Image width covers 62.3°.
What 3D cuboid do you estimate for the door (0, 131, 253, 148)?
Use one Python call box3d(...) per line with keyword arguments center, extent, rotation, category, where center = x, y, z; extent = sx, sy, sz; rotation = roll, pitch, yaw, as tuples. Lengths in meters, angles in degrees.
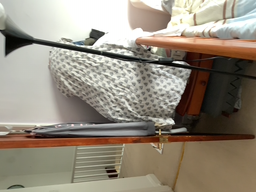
box3d(center=(-0.080, 0.300, 1.590), extent=(0.790, 1.920, 0.040), rotation=(164, 108, -65), category="door")
